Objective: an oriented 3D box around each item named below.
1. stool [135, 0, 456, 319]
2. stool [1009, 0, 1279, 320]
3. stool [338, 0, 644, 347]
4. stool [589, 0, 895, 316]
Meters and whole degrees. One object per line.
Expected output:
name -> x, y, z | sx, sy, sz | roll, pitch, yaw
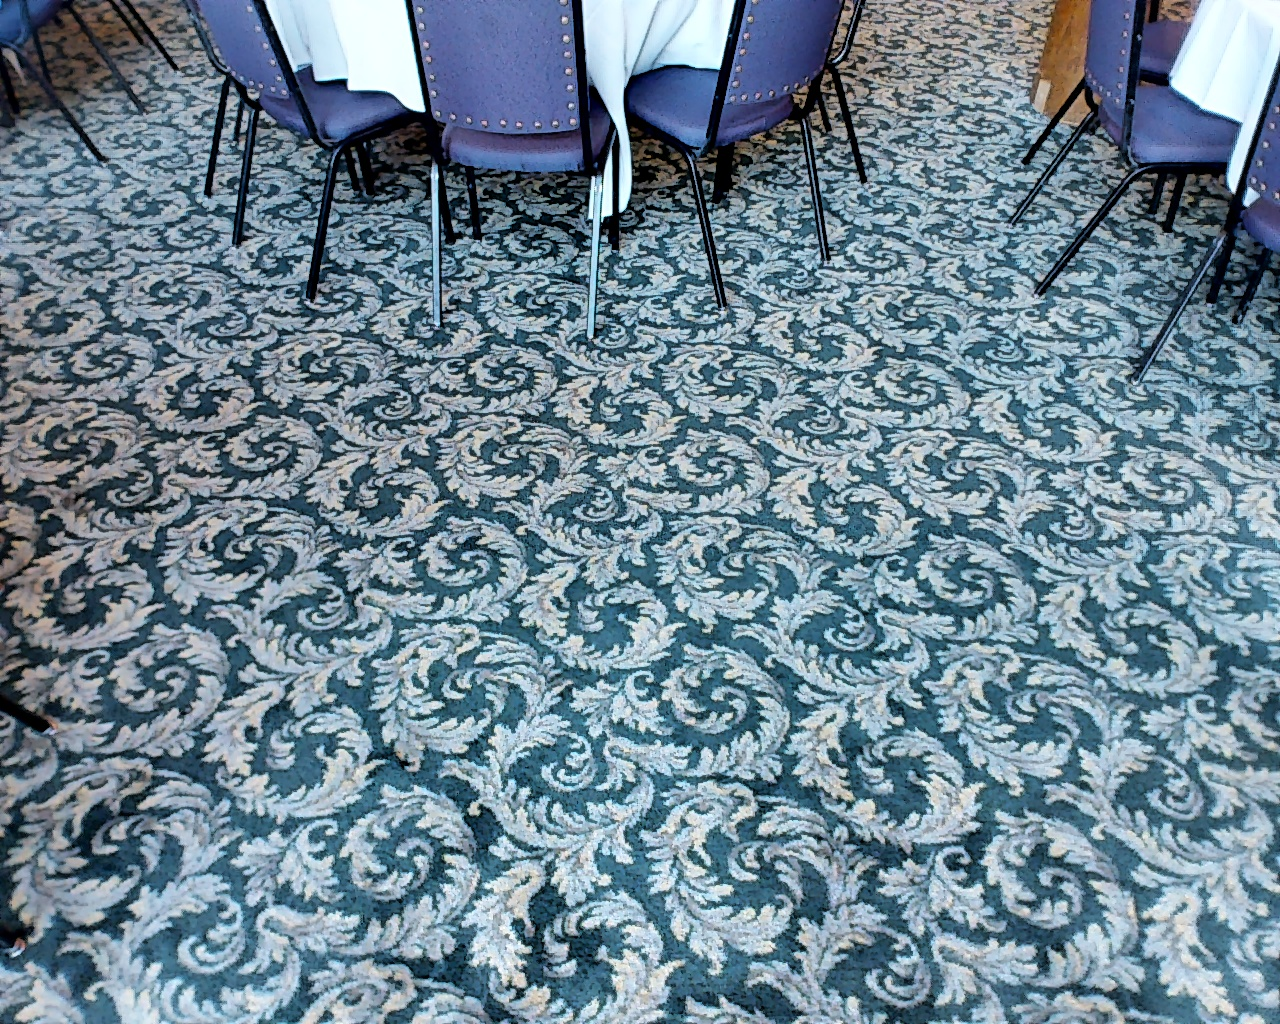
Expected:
stool -> -0.920, -1.090, 2.920 | 0.610, 0.830, 0.480 | 34, 52, 31
stool -> 1.490, -1.060, 2.920 | 0.660, 0.790, 0.680 | 4, 43, 3
stool -> -0.320, -0.950, 2.740 | 0.610, 0.860, 0.540 | 4, 43, 3
stool -> 0.260, -1.110, 2.930 | 0.530, 0.850, 0.580 | 34, 52, 31
